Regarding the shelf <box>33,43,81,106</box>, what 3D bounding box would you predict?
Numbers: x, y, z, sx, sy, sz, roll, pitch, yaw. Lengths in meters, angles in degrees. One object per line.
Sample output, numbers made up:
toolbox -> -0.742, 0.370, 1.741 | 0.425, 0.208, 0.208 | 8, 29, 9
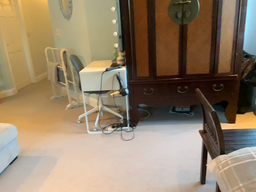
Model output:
shelf -> -1.190, -0.390, 3.520 | 0.240, 0.920, 0.850 | -21, 25, -40
